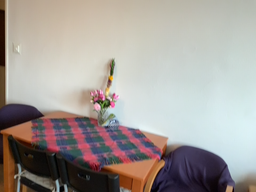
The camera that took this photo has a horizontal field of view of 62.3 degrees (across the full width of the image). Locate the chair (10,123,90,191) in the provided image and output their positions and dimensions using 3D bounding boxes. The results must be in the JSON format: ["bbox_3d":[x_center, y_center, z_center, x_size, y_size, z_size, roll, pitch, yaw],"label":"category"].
[{"bbox_3d":[-0.630,0.680,1.730,0.410,0.760,0.420,12,13,22],"label":"chair"}]
